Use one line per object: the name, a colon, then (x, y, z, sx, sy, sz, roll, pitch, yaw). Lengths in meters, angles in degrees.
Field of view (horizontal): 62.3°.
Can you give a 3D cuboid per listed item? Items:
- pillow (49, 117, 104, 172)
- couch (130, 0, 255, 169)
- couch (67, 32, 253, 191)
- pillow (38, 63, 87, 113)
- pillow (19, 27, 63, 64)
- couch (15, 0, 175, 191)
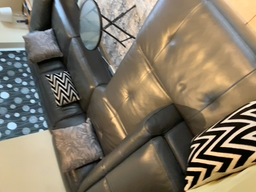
pillow: (-0.550, 0.510, 2.280, 0.430, 0.380, 0.120, 49, 139, 9)
couch: (0.520, -0.210, 1.240, 0.500, 0.480, 1.010, -50, 58, 48)
couch: (0.130, 0.180, 1.650, 0.850, 0.750, 0.970, -50, 58, 48)
pillow: (-0.810, -0.110, 2.620, 0.560, 0.290, 0.160, 48, 139, 9)
pillow: (-1.150, -0.680, 2.820, 0.420, 0.350, 0.140, 45, 138, 5)
couch: (-0.690, -0.150, 2.710, 1.070, 0.750, 2.940, -50, 58, 48)
